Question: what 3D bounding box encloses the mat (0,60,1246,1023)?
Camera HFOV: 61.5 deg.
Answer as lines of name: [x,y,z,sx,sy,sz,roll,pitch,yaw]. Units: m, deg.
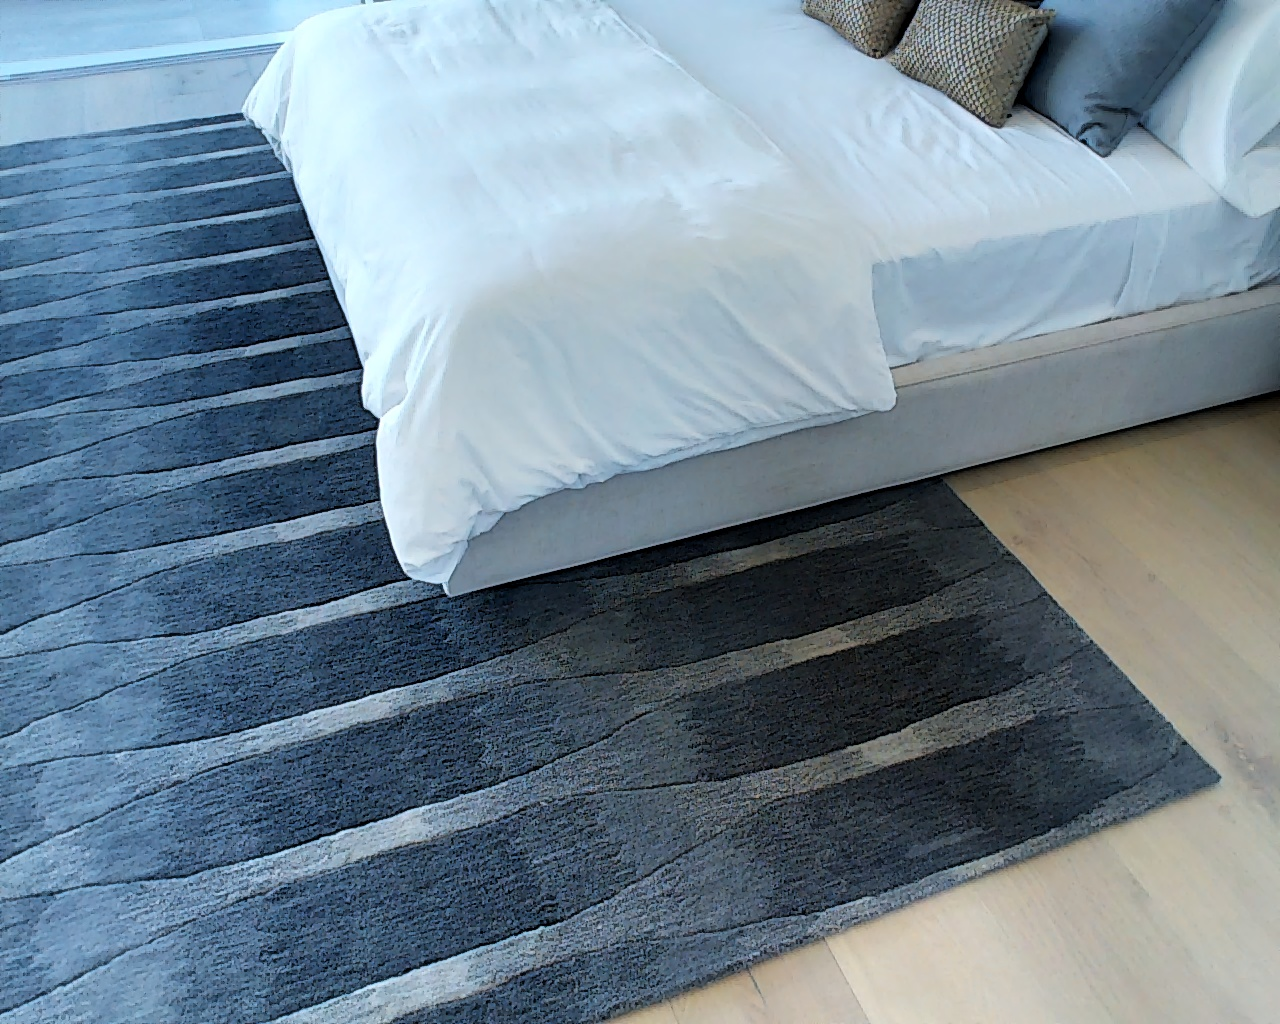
mat: [-0.920,-0.390,2.780,2.810,0.040,3.680,-14,43,-16]
